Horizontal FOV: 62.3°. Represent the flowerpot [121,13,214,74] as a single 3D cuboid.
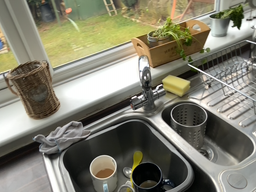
[{"bbox_3d":[0.180,-0.270,1.020,0.320,0.130,0.280,-25,38,-21],"label":"flowerpot"}]
